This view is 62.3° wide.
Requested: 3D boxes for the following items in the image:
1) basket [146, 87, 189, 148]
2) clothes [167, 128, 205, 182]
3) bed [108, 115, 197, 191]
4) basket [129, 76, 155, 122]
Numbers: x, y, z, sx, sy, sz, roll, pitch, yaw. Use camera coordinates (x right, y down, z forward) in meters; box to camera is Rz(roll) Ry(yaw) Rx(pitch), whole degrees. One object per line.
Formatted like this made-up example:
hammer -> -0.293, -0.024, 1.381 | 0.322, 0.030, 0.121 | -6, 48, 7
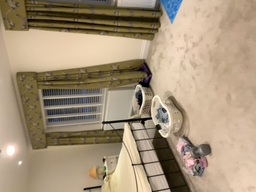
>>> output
basket -> 0.530, 0.290, 3.050 | 0.680, 0.240, 0.550 | -114, 27, -51
clothes -> 0.710, 0.730, 2.670 | 0.540, 0.140, 0.350 | -110, 24, -45
bed -> 0.230, 1.630, 3.520 | 1.570, 0.680, 2.080 | -110, 24, -46
basket -> 0.240, 0.050, 4.000 | 0.530, 0.240, 0.680 | -109, 22, -43
